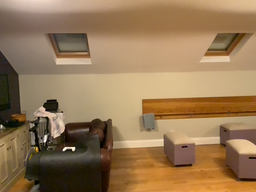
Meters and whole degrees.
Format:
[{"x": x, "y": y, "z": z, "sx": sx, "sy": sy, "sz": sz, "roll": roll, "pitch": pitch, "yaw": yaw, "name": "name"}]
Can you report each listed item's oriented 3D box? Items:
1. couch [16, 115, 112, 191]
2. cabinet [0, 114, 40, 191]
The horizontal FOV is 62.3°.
[{"x": -0.880, "y": 0.930, "z": 3.680, "sx": 1.130, "sy": 0.800, "sz": 2.130, "roll": -1, "pitch": 5, "yaw": -6, "name": "couch"}, {"x": -2.080, "y": 0.910, "z": 3.730, "sx": 0.410, "sy": 0.860, "sz": 1.940, "roll": -1, "pitch": 5, "yaw": -6, "name": "cabinet"}]
